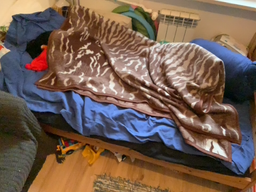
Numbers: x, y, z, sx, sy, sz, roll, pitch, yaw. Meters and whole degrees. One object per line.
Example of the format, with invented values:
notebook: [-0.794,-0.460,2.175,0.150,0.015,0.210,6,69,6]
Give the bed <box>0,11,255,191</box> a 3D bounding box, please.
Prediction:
bed: [-0.090,-0.100,1.850,2.080,0.400,1.200,14,48,7]
